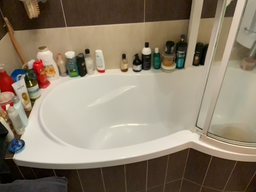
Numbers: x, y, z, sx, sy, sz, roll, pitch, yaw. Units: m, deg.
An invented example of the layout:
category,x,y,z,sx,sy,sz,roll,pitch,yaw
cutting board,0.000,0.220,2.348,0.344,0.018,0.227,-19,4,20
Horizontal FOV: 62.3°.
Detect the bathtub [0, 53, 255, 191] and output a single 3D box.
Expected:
category,x,y,z,sx,sy,sz,roll,pitch,yaw
bathtub,0.170,0.250,1.470,1.690,0.600,0.930,-5,39,-4
